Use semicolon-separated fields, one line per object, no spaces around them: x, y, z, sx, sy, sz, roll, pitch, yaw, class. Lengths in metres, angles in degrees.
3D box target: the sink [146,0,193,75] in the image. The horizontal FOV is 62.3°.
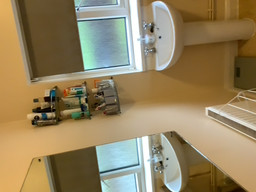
0.320;-0.480;1.690;0.420;0.180;0.560;-137;40;-70;sink
